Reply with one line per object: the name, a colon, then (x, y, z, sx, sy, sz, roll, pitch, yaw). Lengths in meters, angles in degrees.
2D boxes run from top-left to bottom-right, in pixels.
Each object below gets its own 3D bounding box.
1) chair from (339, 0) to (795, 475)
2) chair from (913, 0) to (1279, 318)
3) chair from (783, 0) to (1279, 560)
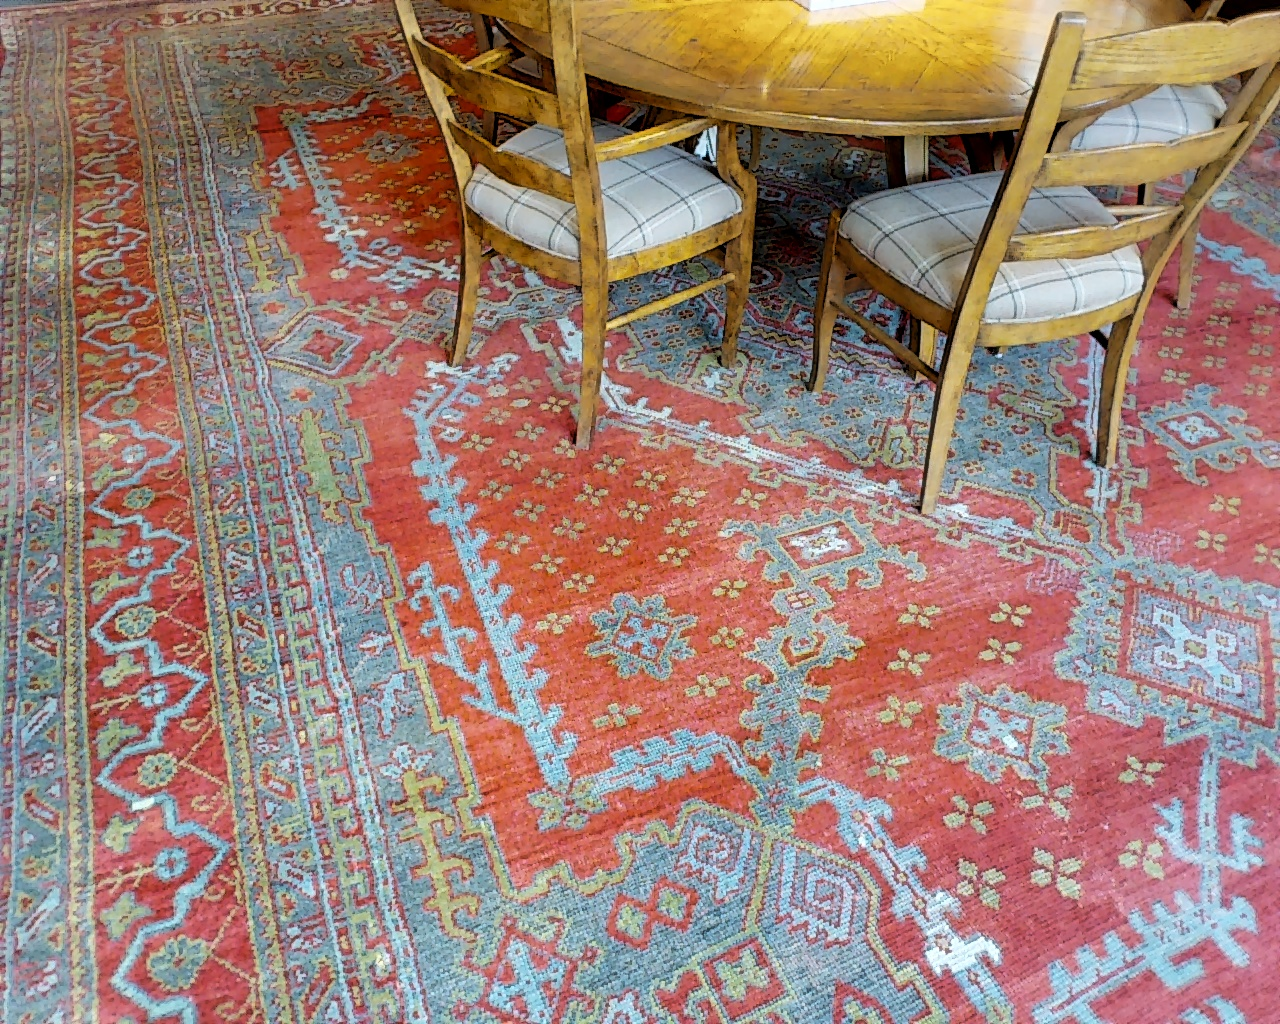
chair: (-0.140, -0.760, 2.280, 0.610, 1.040, 0.630, 33, 52, 31)
chair: (1.200, -1.110, 2.680, 0.770, 1.030, 0.620, 3, 42, 2)
chair: (0.760, -0.570, 2.120, 0.600, 1.020, 0.680, -16, 45, -17)
